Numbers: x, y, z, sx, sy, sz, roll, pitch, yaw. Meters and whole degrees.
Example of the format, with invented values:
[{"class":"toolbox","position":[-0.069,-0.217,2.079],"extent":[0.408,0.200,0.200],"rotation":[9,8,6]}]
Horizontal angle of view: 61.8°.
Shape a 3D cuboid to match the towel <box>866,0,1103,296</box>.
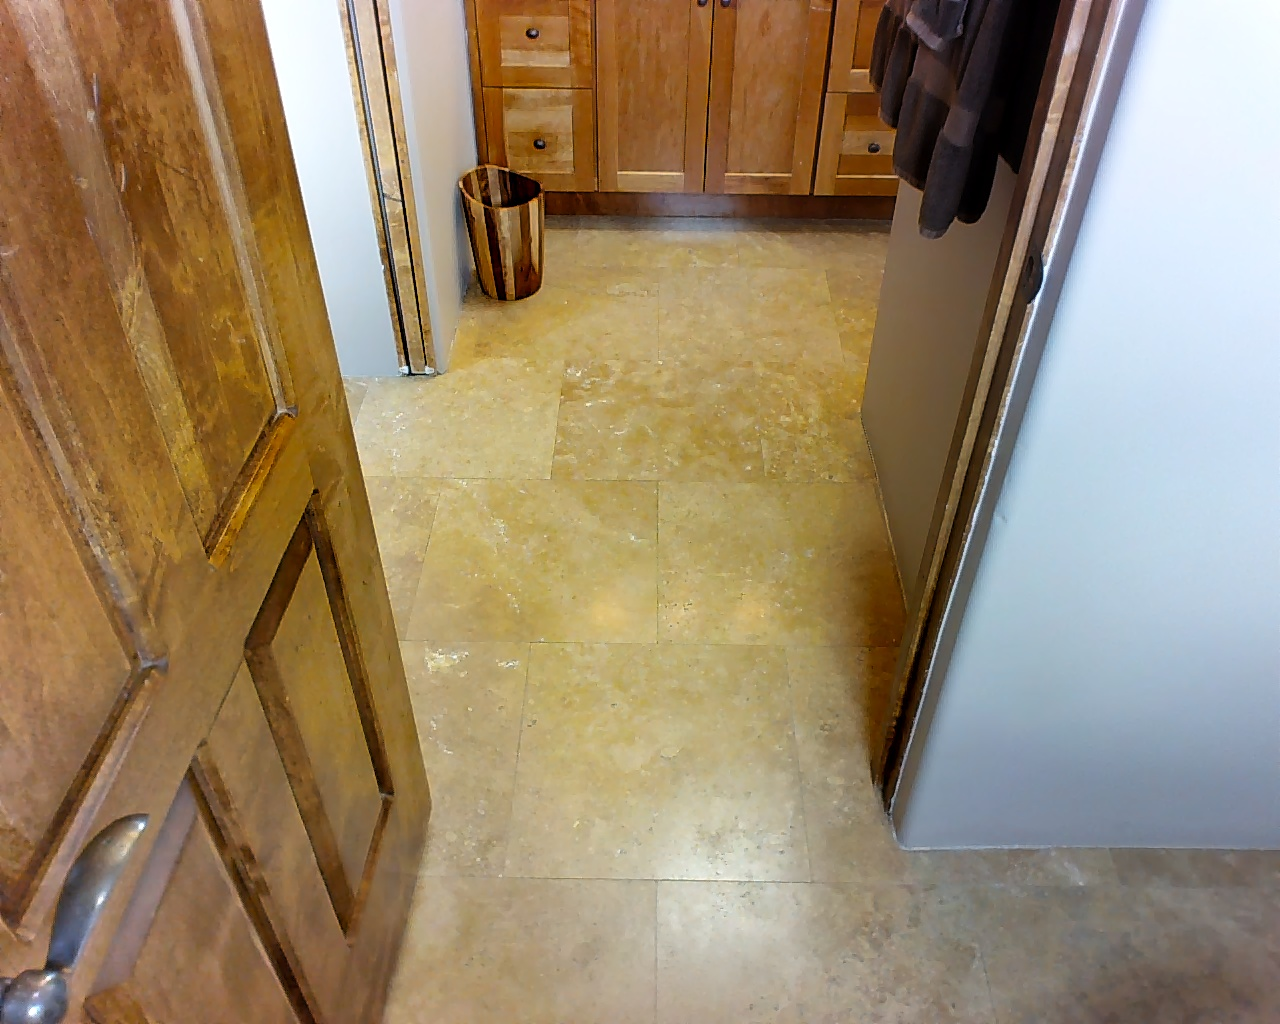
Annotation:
[{"class":"towel","position":[0.420,-0.540,1.360],"extent":[0.160,0.430,0.290],"rotation":[1,41,0]}]
